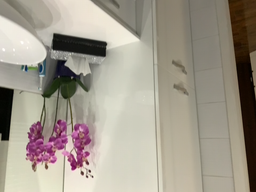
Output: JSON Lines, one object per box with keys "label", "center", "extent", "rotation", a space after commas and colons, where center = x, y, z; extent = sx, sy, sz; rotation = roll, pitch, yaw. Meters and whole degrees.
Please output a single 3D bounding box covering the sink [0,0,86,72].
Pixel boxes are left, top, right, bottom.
{"label": "sink", "center": [-0.510, -0.270, 0.750], "extent": [0.370, 0.150, 0.640], "rotation": [-7, 167, 31]}
